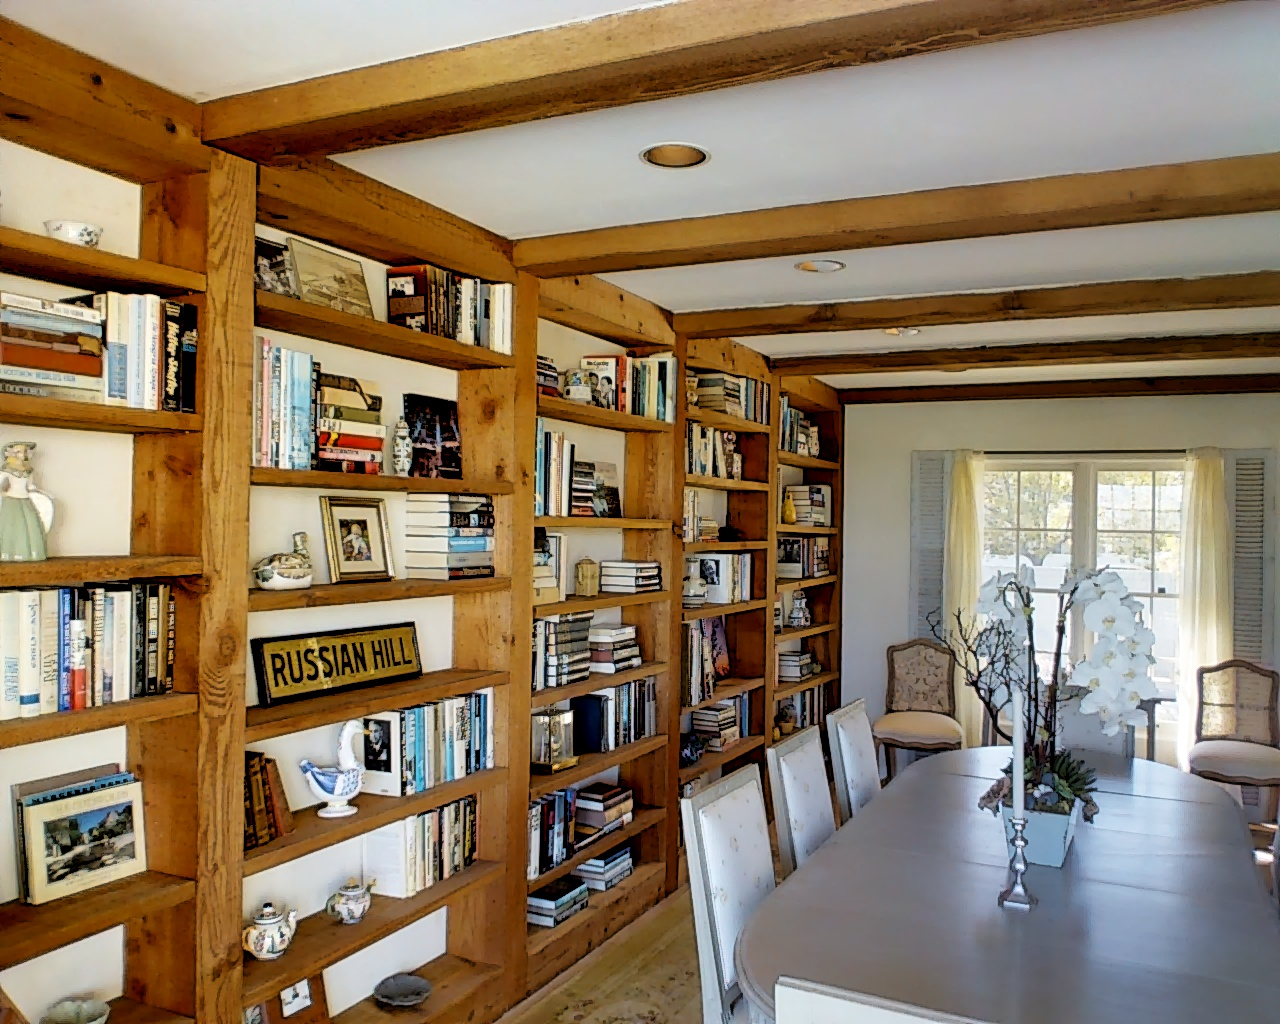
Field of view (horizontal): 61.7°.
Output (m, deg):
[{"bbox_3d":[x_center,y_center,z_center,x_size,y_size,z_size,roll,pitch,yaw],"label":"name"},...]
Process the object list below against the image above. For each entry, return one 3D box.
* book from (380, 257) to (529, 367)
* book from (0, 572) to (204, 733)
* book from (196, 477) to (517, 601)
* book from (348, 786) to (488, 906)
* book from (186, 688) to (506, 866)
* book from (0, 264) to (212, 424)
[{"bbox_3d":[-0.570,-0.610,3.340,0.250,0.250,0.420,1,-1,27],"label":"book"},{"bbox_3d":[-1.170,0.270,2.200,0.240,0.270,0.460,1,-1,28],"label":"book"},{"bbox_3d":[-0.740,0.070,3.050,0.240,0.290,1.080,1,-1,25],"label":"book"},{"bbox_3d":[-0.670,1.010,3.290,0.190,0.220,0.450,1,-1,24],"label":"book"},{"bbox_3d":[-0.760,0.700,3.010,0.220,0.250,1.070,1,-1,25],"label":"book"},{"bbox_3d":[-1.150,-0.330,2.220,0.250,0.250,0.430,1,-1,25],"label":"book"}]
